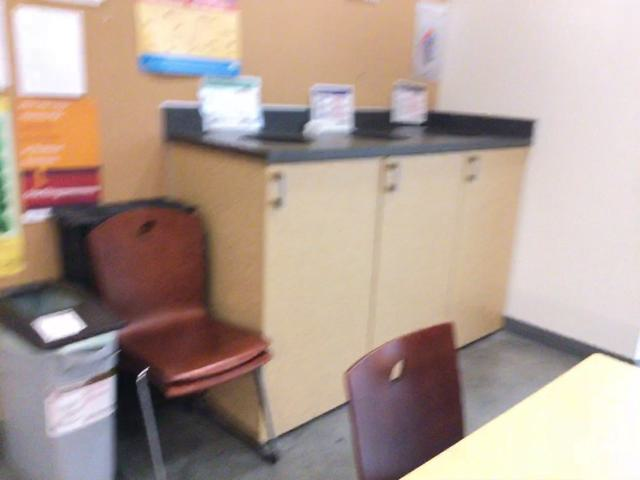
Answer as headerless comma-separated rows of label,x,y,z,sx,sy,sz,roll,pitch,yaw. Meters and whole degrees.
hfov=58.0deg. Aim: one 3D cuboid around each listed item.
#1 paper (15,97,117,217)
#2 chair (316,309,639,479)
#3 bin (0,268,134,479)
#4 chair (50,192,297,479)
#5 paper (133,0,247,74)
paper,-0.880,-0.300,2.030,0.070,0.390,0.290,16,22,42
chair,0.360,0.660,1.240,0.590,0.790,0.460,16,22,42
bin,-0.890,0.490,1.920,0.490,0.660,0.270,14,20,42
chair,-0.520,0.350,2.070,0.750,0.880,0.490,16,22,42
paper,-0.490,-0.960,2.230,0.050,0.610,0.480,16,22,42
